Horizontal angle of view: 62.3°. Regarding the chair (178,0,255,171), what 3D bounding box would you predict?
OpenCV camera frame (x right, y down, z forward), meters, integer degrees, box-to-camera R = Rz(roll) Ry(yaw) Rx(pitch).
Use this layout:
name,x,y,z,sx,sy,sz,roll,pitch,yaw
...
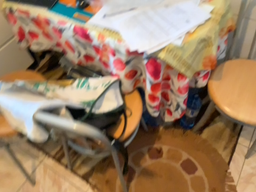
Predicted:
name,x,y,z,sx,sy,sz,roll,pitch,yaw
chair,0.600,-0.040,1.060,0.430,0.760,0.480,25,63,19
